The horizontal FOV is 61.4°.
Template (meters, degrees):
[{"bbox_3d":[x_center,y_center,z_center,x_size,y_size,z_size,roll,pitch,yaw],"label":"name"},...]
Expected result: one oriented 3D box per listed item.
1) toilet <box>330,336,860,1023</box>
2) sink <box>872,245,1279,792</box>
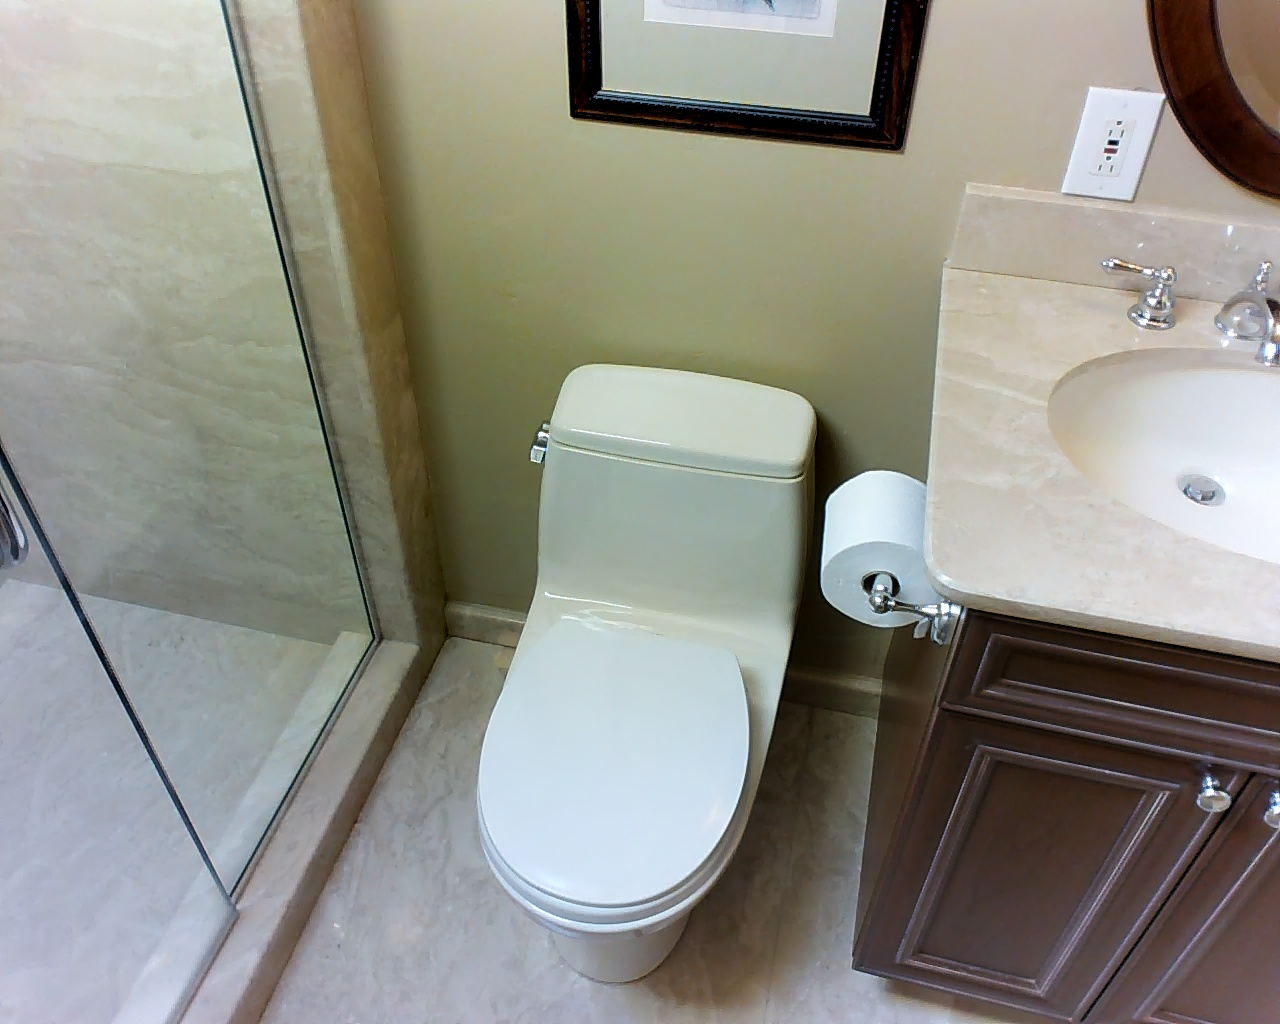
[{"bbox_3d":[0.000,0.280,1.540,0.460,0.720,0.730,9,43,10],"label":"toilet"},{"bbox_3d":[0.630,-0.010,1.140,0.680,0.210,0.570,10,43,10],"label":"sink"}]
